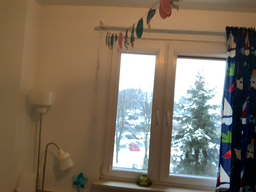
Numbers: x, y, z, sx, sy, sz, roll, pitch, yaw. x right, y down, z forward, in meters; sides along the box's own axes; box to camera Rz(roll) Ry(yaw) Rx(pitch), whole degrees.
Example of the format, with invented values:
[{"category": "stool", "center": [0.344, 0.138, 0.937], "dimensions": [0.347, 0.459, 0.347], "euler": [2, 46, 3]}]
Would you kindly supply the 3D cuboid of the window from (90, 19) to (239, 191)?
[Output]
[{"category": "window", "center": [0.340, 0.100, 2.070], "dimensions": [1.280, 1.570, 0.140], "euler": [5, -1, 2]}]
